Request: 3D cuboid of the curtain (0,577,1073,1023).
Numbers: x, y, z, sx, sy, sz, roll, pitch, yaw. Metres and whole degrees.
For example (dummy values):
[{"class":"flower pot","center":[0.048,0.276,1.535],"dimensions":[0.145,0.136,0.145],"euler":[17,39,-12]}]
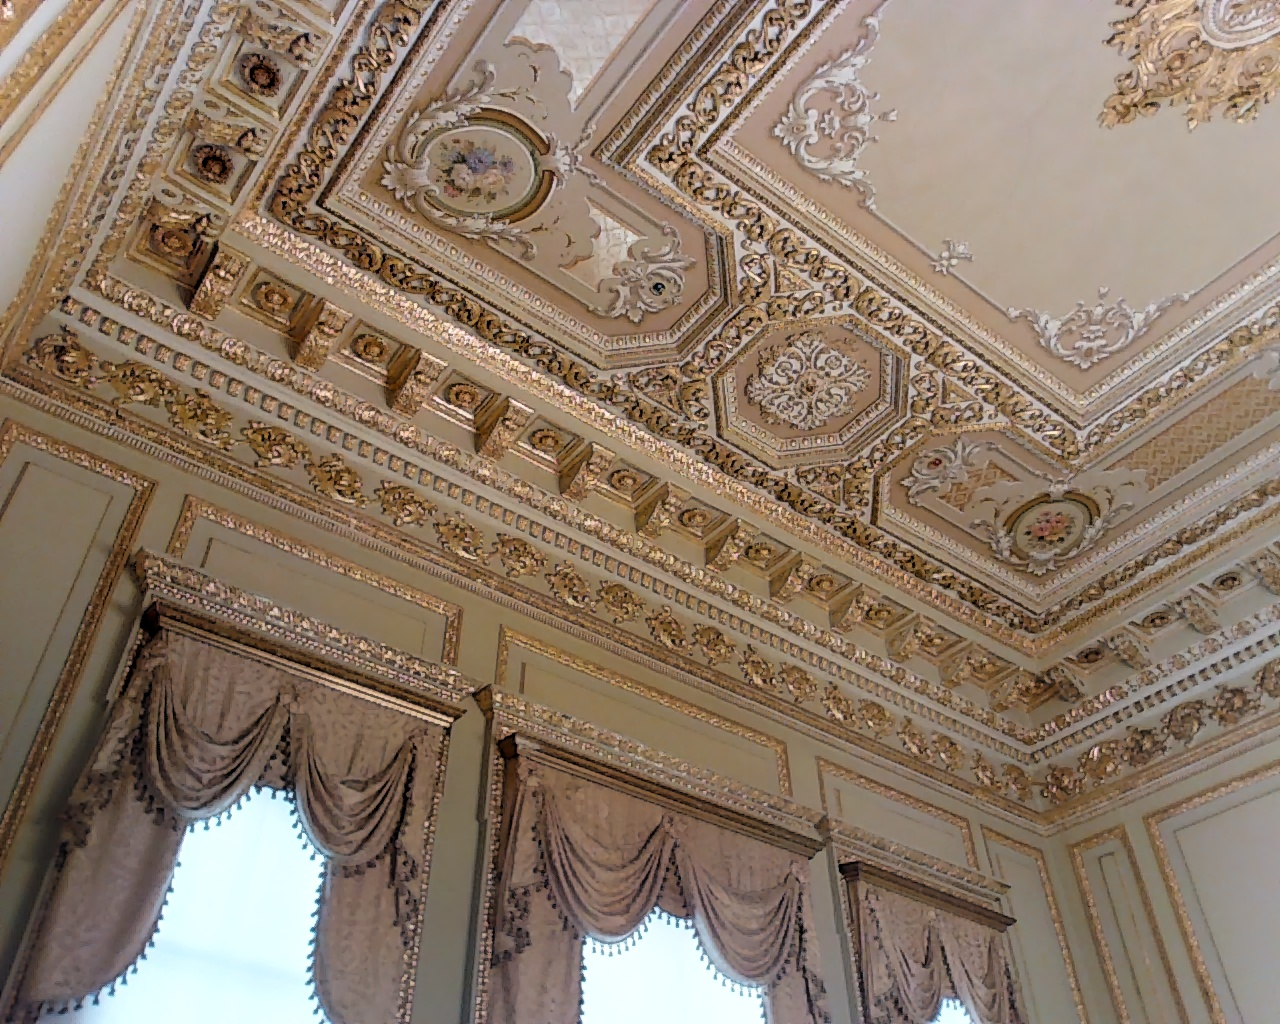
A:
[{"class":"curtain","center":[0.250,2.542,4.490],"dimensions":[5.438,3.051,0.230],"euler":[27,-49,-26]}]
